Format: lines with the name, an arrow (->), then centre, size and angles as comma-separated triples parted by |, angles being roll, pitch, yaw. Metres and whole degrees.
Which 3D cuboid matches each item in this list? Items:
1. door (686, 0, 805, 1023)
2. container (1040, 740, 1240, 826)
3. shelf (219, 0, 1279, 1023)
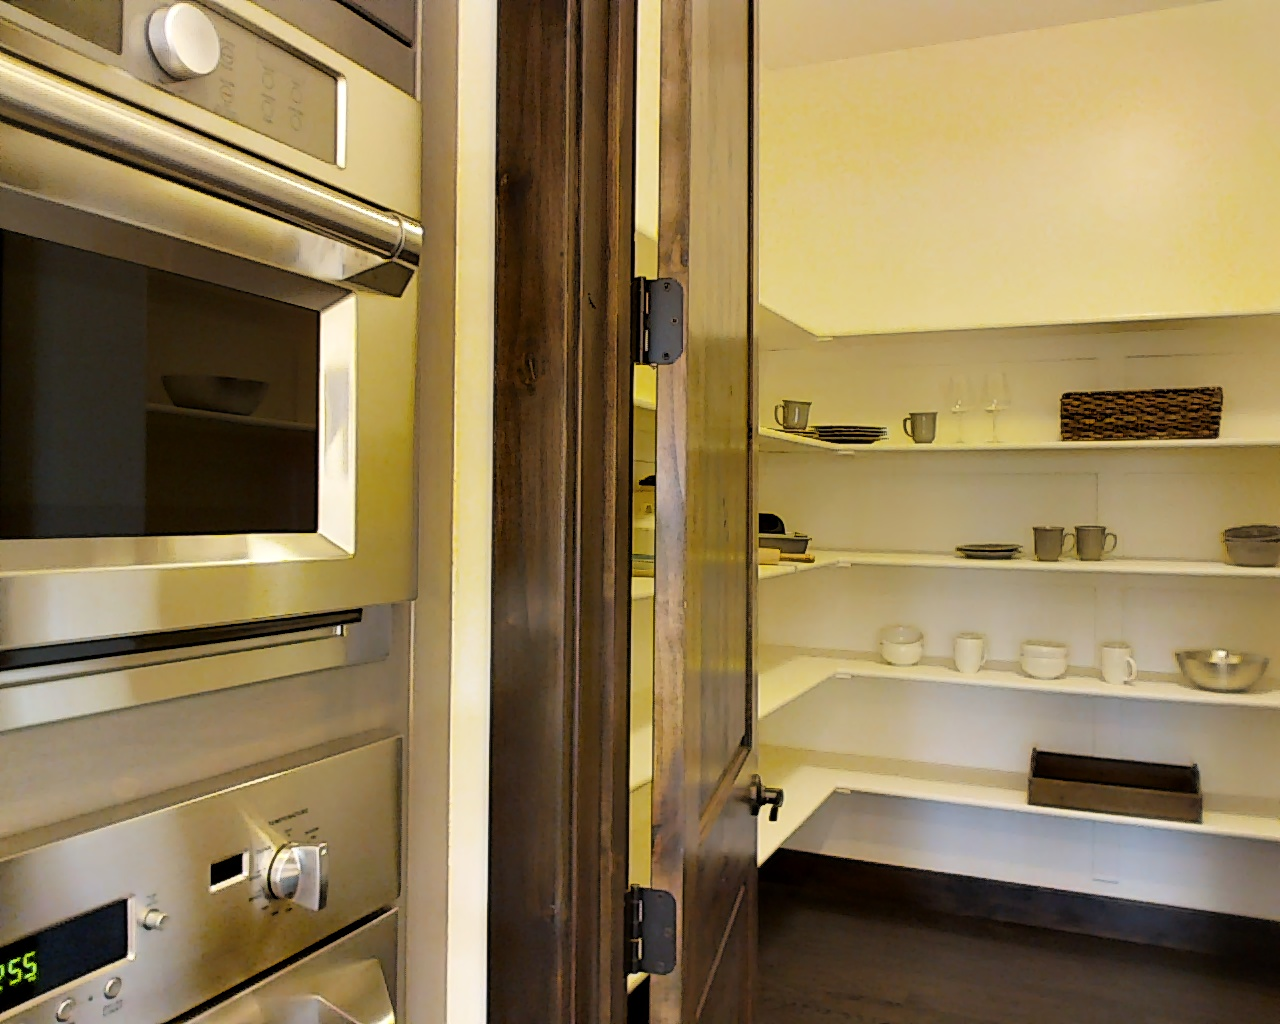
door -> 0.170, 0.070, 1.540 | 0.060, 2.260, 0.750 | 0, 0, 13
container -> 1.550, 0.840, 3.360 | 0.540, 0.130, 0.380 | 0, 0, 22
shelf -> 1.030, 0.060, 2.340 | 2.400, 1.900, 2.710 | 0, 0, 24
